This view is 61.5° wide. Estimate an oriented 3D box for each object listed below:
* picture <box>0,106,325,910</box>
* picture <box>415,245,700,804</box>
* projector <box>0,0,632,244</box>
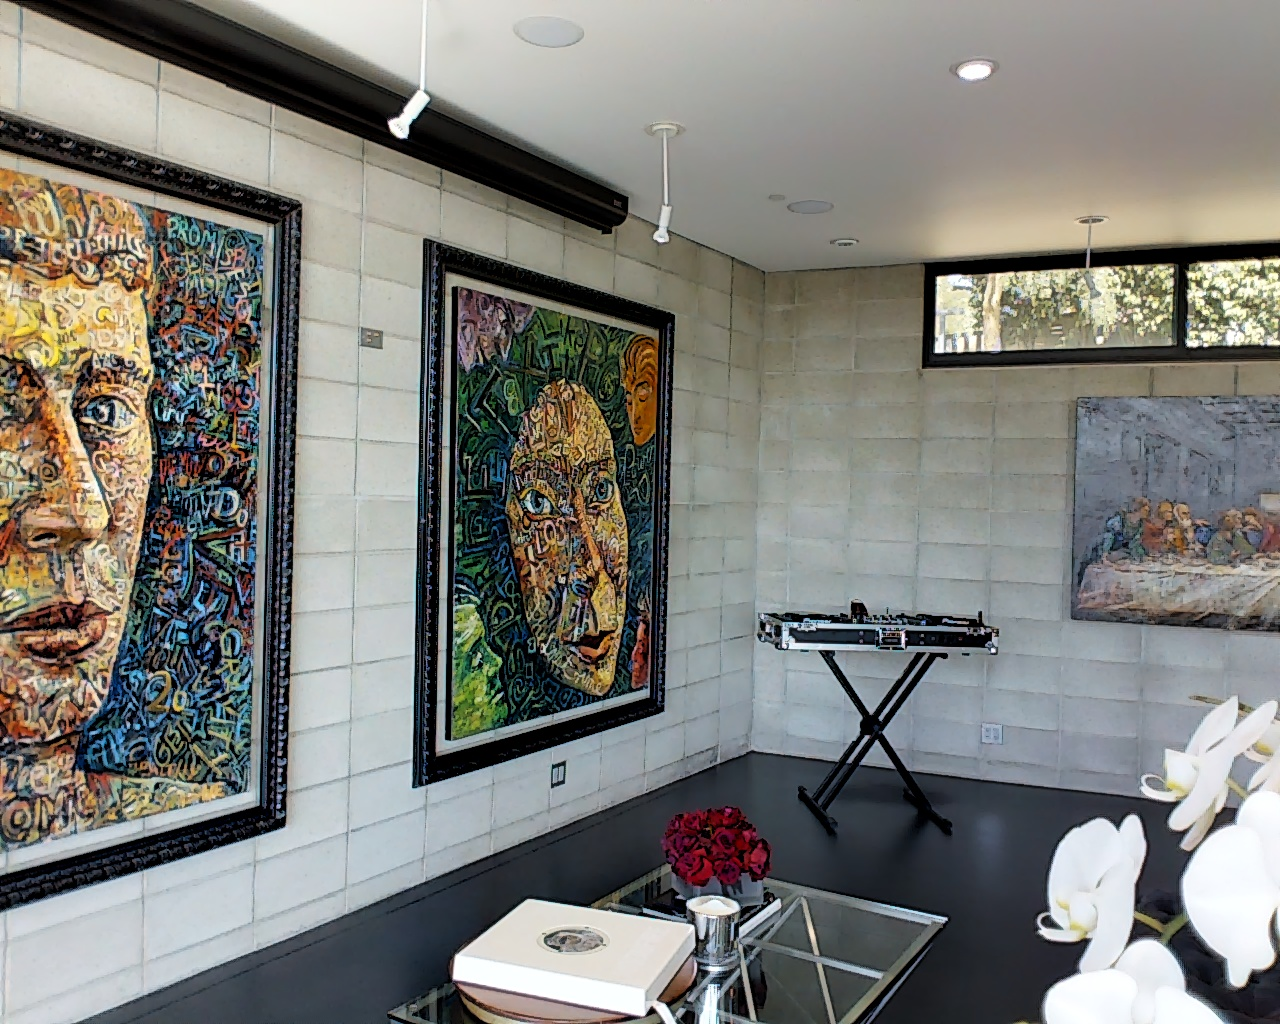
[{"bbox_3d":[-1.650,0.000,2.950,0.100,2.100,1.920,2,0,30],"label":"picture"},{"bbox_3d":[-0.290,0.060,5.060,0.130,2.200,1.890,2,0,34],"label":"picture"},{"bbox_3d":[-0.900,-1.440,3.890,0.320,0.260,2.900,2,0,30],"label":"projector"}]
